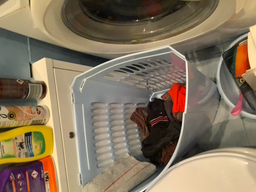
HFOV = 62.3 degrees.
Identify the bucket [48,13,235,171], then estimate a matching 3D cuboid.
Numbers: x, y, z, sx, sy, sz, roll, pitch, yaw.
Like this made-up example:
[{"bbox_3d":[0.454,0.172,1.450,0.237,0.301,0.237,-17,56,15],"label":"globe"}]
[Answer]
[{"bbox_3d":[0.090,0.030,0.730,0.390,0.530,0.290,-16,79,31],"label":"bucket"}]
